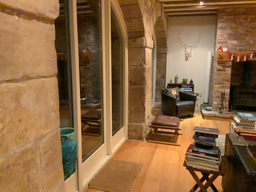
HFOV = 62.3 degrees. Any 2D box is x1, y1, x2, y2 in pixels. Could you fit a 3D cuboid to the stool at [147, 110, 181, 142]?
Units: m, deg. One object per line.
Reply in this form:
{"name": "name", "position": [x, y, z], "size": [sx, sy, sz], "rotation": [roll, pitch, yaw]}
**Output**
{"name": "stool", "position": [0.680, 0.540, 3.950], "size": [0.540, 0.380, 0.610], "rotation": [3, 10, 17]}

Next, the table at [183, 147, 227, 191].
{"name": "table", "position": [0.750, 0.850, 2.130], "size": [0.350, 0.460, 0.520], "rotation": [3, 10, 17]}

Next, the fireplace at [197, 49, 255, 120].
{"name": "fireplace", "position": [3.010, -0.330, 5.370], "size": [2.240, 1.650, 1.040], "rotation": [3, 10, 15]}
